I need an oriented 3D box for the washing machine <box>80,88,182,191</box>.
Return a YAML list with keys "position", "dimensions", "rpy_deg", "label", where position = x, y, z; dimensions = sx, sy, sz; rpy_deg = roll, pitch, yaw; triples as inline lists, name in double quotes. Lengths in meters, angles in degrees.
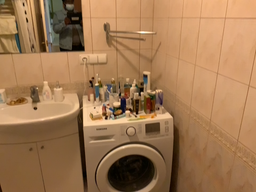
- position: [-0.040, 0.460, 1.760]
  dimensions: [0.630, 0.840, 0.680]
  rpy_deg: [-4, 21, -12]
  label: "washing machine"
